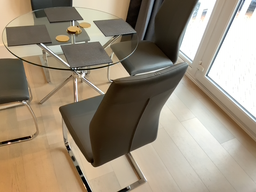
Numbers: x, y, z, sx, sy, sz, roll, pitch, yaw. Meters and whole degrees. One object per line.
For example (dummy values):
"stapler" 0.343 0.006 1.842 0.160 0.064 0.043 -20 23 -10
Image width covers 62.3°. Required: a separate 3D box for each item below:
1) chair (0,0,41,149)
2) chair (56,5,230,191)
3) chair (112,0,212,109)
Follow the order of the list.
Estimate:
"chair" -0.960 -0.150 1.360 0.540 1.020 0.490 -12 47 -23
"chair" -0.020 0.100 1.280 0.550 1.020 0.580 -17 49 -27
"chair" 0.230 -0.440 1.950 0.530 0.970 0.470 -15 48 -25
